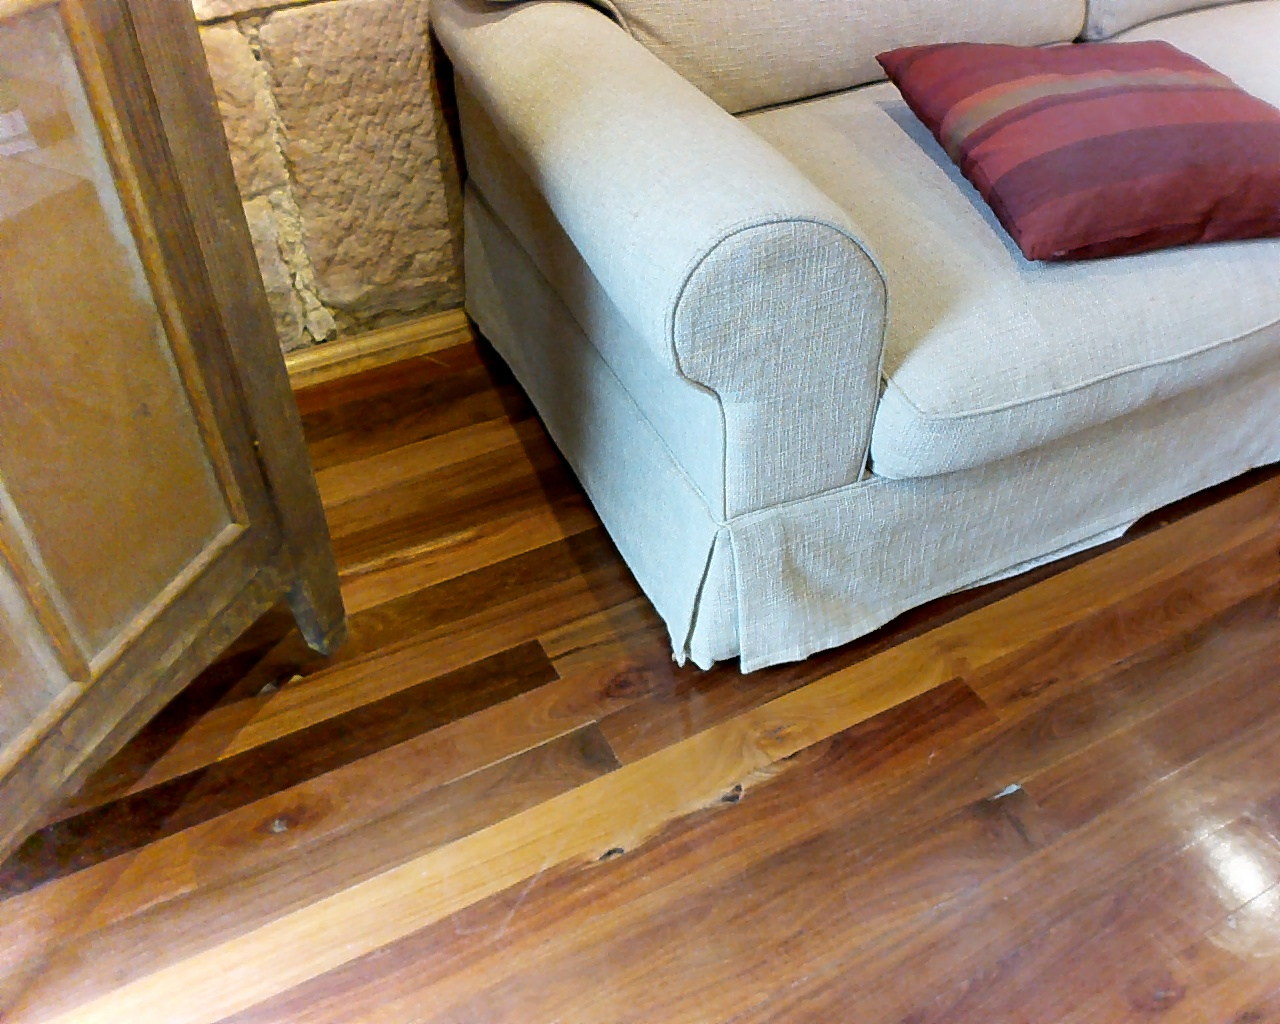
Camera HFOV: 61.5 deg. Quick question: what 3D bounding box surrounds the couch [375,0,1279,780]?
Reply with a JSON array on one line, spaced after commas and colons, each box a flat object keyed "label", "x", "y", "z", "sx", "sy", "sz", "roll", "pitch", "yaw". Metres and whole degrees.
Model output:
[{"label": "couch", "x": 0.830, "y": -0.690, "z": 1.710, "sx": 2.220, "sy": 1.030, "sz": 1.040, "roll": -18, "pitch": 46, "yaw": -19}]
